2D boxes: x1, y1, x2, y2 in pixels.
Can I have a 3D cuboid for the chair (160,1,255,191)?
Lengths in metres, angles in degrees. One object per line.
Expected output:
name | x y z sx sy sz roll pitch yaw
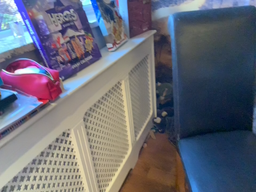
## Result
chair | 0.470 0.200 1.020 0.480 1.130 0.630 -7 27 -2
